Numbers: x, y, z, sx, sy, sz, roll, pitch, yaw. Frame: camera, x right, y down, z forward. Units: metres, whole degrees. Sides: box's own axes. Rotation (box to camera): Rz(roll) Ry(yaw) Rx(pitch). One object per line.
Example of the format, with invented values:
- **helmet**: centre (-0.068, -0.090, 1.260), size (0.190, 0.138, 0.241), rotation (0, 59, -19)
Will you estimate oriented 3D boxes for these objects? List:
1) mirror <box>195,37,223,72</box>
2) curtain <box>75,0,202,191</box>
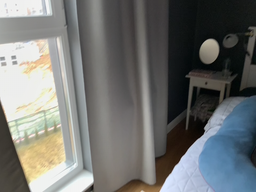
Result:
- **mirror**: centre (0.930, -0.480, 2.430), size (0.220, 0.350, 0.190), rotation (13, 26, 31)
- **curtain**: centre (0.160, -0.530, 1.530), size (0.340, 2.650, 1.050), rotation (15, 27, 34)
